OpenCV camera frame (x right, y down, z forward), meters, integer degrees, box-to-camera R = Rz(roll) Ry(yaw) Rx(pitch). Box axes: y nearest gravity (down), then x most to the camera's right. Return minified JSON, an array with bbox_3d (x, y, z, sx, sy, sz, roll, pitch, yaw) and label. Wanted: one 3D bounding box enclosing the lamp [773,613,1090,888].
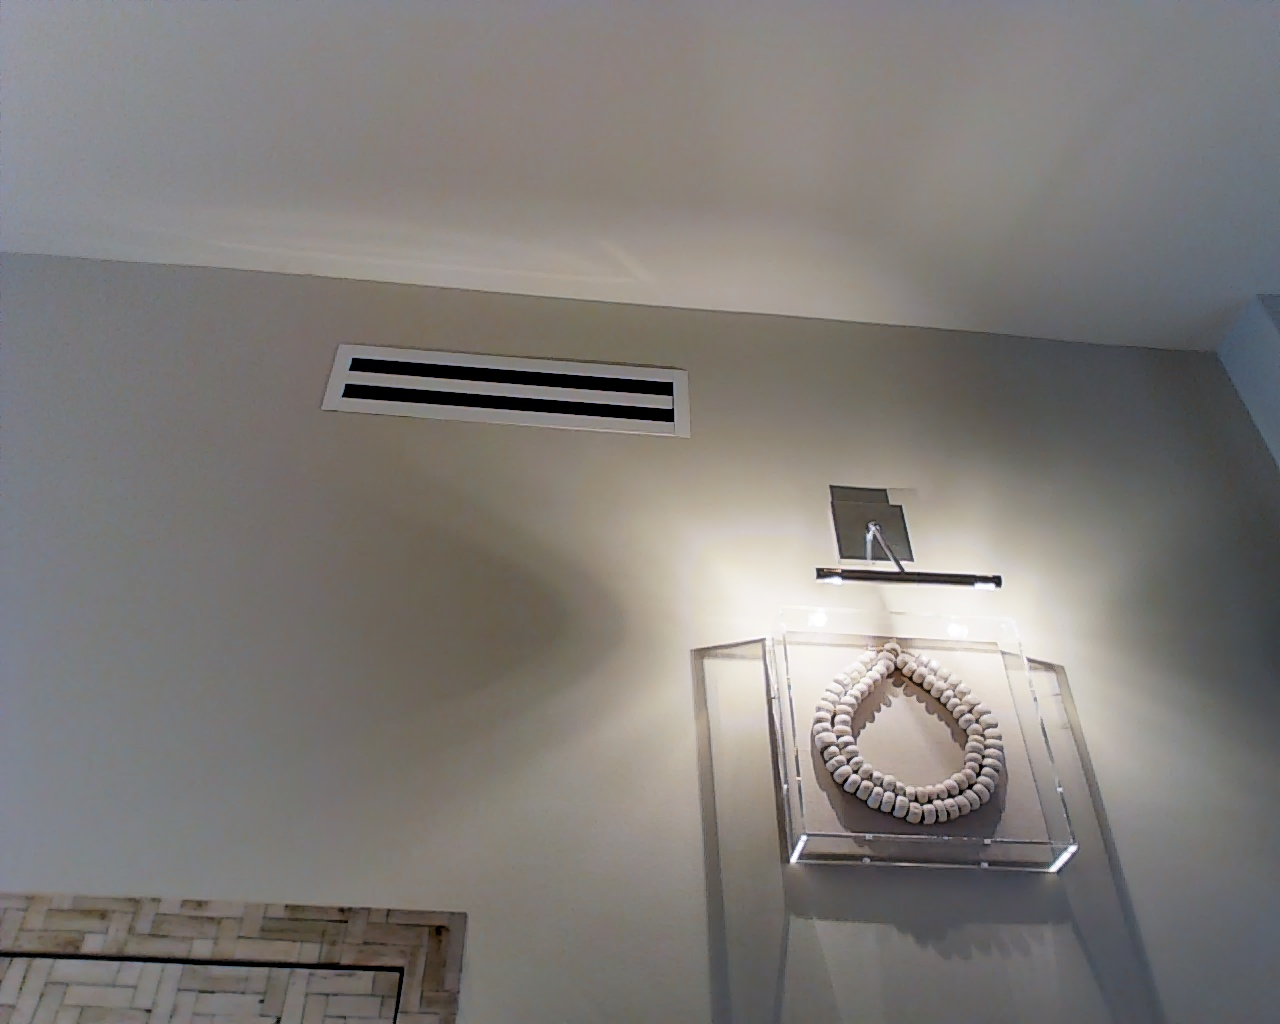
[{"bbox_3d":[0.410,0.340,1.590,0.390,0.400,0.060,4,-42,-4],"label":"lamp"}]
